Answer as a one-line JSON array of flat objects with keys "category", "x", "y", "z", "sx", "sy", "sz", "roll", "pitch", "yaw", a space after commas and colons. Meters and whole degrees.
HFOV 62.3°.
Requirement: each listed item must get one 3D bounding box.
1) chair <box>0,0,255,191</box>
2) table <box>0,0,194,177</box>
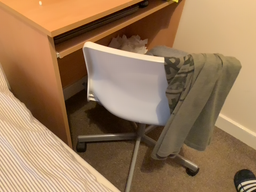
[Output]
[{"category": "chair", "x": 0.090, "y": 0.010, "z": 0.900, "sx": 0.660, "sy": 0.750, "sz": 0.650, "roll": 17, "pitch": 46, "yaw": 9}, {"category": "table", "x": -0.130, "y": -0.190, "z": 1.070, "sx": 0.450, "sy": 0.760, "sz": 0.790, "roll": 33, "pitch": 50, "yaw": 23}]
